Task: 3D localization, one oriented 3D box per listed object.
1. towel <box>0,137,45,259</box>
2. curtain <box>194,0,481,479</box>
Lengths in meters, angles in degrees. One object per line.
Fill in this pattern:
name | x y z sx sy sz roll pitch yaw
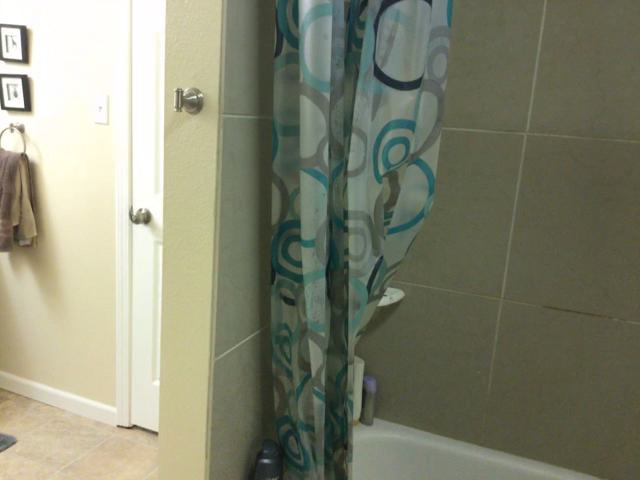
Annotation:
towel | -1.300 -0.180 2.380 0.260 0.460 0.160 9 13 21
curtain | 0.040 0.090 1.260 0.380 1.730 0.480 9 13 21
